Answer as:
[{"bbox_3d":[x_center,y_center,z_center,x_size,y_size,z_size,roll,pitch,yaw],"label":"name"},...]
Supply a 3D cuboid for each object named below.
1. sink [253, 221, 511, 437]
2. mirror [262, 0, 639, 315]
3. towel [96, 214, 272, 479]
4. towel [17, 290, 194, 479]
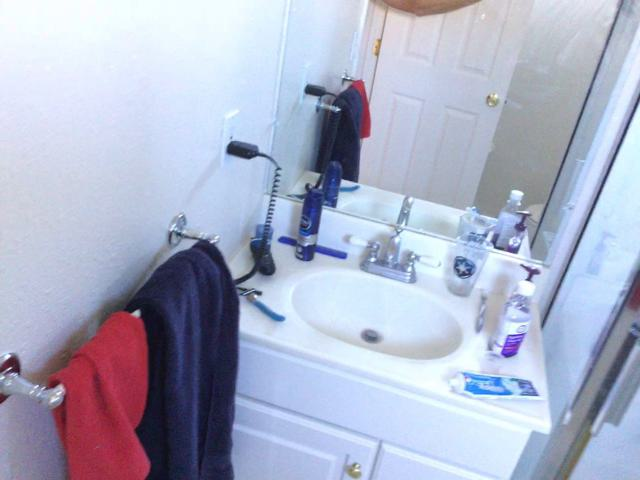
[{"bbox_3d":[0.150,0.190,1.460,0.520,0.190,0.500,11,27,2],"label":"sink"},{"bbox_3d":[0.300,-0.380,1.400,0.780,1.000,0.140,16,28,12],"label":"mirror"},{"bbox_3d":[-0.280,0.400,1.160,0.180,0.850,0.260,16,28,12],"label":"towel"},{"bbox_3d":[-0.310,0.300,0.870,0.140,0.380,0.190,16,28,12],"label":"towel"}]
